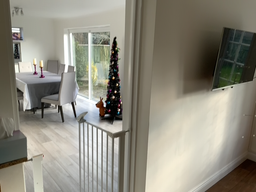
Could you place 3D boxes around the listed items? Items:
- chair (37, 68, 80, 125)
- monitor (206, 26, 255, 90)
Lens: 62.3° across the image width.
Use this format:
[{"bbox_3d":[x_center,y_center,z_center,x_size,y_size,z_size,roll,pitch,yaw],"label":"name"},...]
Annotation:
[{"bbox_3d":[-1.470,-0.030,4.580,0.620,1.070,0.560,8,15,24],"label":"chair"},{"bbox_3d":[1.070,-0.350,2.070,0.950,0.520,0.060,-7,20,-43],"label":"monitor"}]
